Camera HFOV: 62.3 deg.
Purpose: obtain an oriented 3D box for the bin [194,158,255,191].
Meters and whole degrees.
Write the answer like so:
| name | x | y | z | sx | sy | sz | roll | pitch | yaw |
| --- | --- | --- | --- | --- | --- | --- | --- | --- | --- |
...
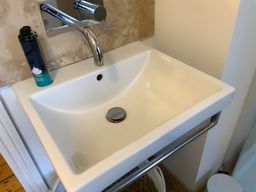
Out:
| name | x | y | z | sx | sy | sz | roll | pitch | yaw |
| --- | --- | --- | --- | --- | --- | --- | --- | --- | --- |
| bin | 0.490 | 0.530 | 1.120 | 0.190 | 0.290 | 0.200 | -28 | 44 | -27 |

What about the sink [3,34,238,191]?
| name | x | y | z | sx | sy | sz | roll | pitch | yaw |
| --- | --- | --- | --- | --- | --- | --- | --- | --- | --- |
| sink | -0.030 | 0.030 | 0.670 | 0.520 | 0.190 | 0.440 | -27 | 44 | -27 |
